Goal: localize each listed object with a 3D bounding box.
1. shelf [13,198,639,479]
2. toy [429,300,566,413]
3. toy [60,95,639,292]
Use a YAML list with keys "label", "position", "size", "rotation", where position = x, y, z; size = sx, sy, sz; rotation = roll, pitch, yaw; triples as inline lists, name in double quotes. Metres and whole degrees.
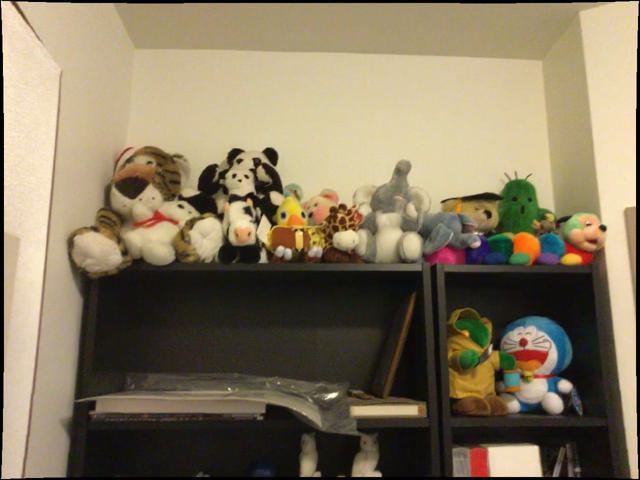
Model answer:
- label: "shelf"
  position: [0.070, 0.962, 1.200]
  size: [1.267, 2.015, 0.480]
  rotation: [1, -11, -2]
- label: "toy"
  position: [0.419, 0.281, 1.400]
  size: [0.269, 0.251, 0.160]
  rotation: [1, -11, -2]
- label: "toy"
  position: [0.080, -0.090, 1.450]
  size: [1.267, 0.391, 0.350]
  rotation: [1, -11, -2]
